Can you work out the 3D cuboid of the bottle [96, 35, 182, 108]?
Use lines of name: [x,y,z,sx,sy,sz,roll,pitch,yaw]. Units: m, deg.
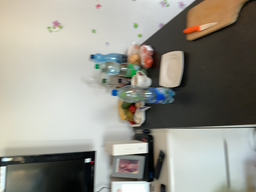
bottle: [0.030,-0.100,1.260,0.520,0.290,0.290,164,108,-64]
